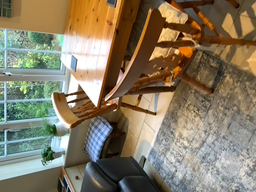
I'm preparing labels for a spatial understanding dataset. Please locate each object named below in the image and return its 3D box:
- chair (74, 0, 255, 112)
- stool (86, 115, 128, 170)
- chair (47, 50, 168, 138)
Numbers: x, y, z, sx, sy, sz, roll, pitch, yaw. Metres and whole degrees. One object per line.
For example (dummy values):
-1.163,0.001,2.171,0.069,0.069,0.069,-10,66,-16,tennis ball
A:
0.220,-0.290,1.240,0.500,0.840,0.480,60,137,32,chair
-0.260,0.530,2.470,0.310,0.290,0.490,43,126,44,stool
-0.190,-0.050,1.840,0.500,0.830,0.480,45,127,43,chair
